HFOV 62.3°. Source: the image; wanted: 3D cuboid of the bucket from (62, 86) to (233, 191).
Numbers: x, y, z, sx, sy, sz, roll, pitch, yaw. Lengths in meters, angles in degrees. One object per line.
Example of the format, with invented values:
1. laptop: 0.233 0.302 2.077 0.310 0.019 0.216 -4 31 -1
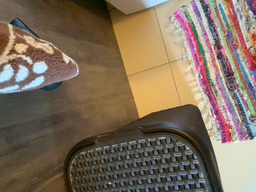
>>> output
1. bucket: 0.160 0.260 0.670 0.270 0.610 0.490 -17 90 21
